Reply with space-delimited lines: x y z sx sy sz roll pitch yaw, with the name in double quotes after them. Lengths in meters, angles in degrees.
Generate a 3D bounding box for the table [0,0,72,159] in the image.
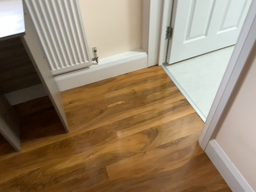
-1.010 0.030 1.100 1.190 0.760 0.420 -17 50 -13 "table"
